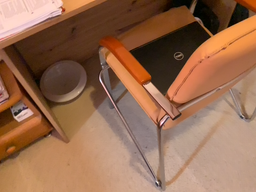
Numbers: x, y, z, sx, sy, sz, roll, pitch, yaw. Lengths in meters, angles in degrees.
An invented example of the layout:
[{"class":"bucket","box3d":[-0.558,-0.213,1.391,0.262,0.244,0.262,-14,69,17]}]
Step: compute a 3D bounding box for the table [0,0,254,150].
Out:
[{"class":"table","box3d":[0.010,-0.420,1.130,1.250,0.740,0.590,-31,61,-15]}]
